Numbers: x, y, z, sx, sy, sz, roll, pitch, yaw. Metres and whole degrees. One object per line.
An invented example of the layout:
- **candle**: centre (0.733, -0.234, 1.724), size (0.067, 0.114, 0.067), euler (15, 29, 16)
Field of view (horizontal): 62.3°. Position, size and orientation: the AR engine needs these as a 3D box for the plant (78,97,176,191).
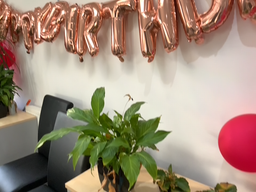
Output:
- **plant**: centre (-0.010, 0.260, 1.020), size (0.380, 0.420, 0.250), euler (12, 18, 40)
